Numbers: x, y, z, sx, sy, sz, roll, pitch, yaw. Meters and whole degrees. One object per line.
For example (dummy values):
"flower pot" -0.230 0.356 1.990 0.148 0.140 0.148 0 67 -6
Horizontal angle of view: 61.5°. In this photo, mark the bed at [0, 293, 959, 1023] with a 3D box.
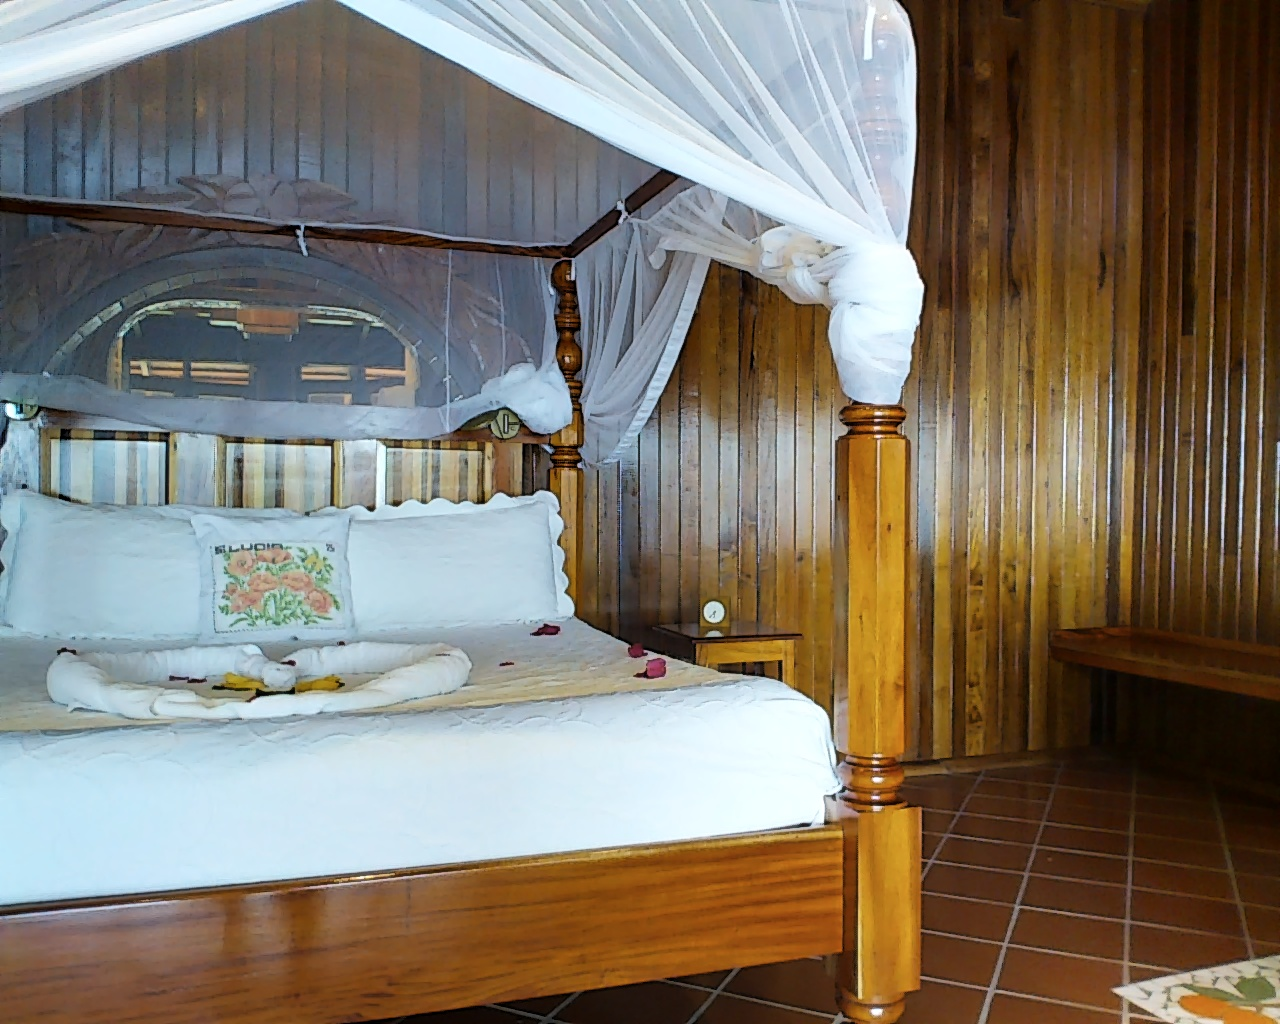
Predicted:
"bed" -0.910 0.430 2.830 2.230 1.500 2.600 0 1 -20

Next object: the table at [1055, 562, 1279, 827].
"table" 2.650 0.730 4.200 0.520 0.920 2.320 0 1 -20

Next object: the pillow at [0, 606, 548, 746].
"pillow" -0.770 0.310 2.270 0.950 0.110 0.880 0 1 -20

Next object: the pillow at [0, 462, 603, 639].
"pillow" -1.050 0.100 3.400 1.770 0.470 0.580 0 1 -20
